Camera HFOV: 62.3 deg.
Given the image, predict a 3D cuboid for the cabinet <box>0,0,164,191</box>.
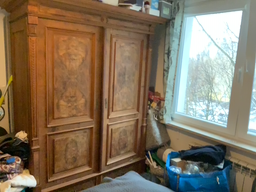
[{"bbox_3d":[-0.530,0.080,2.530,1.470,2.060,1.000,-5,14,-41],"label":"cabinet"}]
